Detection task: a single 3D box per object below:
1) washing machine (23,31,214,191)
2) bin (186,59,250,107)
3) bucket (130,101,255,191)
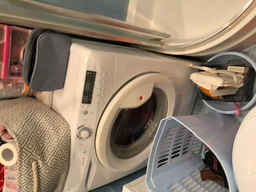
[{"bbox_3d":[-0.030,0.060,1.170,0.510,0.840,0.640,23,108,42],"label":"washing machine"},{"bbox_3d":[0.460,-0.070,1.080,0.180,0.250,0.180,25,110,41],"label":"bin"},{"bbox_3d":[0.330,0.270,1.010,0.290,0.530,0.390,22,108,42],"label":"bucket"}]
